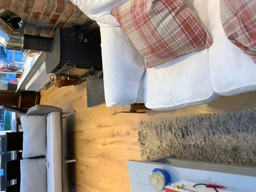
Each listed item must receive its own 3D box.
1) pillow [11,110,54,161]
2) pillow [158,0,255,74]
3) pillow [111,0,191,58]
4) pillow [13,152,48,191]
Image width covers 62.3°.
[{"bbox_3d":[-1.650,0.670,3.680,0.180,0.490,0.750,145,109,-89],"label":"pillow"},{"bbox_3d":[0.360,-0.350,0.900,0.380,0.230,0.410,-18,74,53],"label":"pillow"},{"bbox_3d":[0.110,-0.460,1.280,0.470,0.200,0.300,-16,76,54],"label":"pillow"},{"bbox_3d":[-1.640,1.410,3.600,0.180,0.450,0.780,155,105,-72],"label":"pillow"}]
